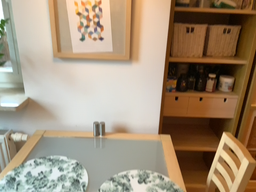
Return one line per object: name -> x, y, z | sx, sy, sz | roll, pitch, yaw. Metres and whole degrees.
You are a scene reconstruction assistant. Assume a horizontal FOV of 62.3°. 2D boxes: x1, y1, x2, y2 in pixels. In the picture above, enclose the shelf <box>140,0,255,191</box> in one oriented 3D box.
shelf -> 0.490, -0.210, 1.570 | 0.660, 2.100, 0.400 | 2, 22, 0
